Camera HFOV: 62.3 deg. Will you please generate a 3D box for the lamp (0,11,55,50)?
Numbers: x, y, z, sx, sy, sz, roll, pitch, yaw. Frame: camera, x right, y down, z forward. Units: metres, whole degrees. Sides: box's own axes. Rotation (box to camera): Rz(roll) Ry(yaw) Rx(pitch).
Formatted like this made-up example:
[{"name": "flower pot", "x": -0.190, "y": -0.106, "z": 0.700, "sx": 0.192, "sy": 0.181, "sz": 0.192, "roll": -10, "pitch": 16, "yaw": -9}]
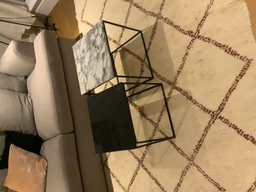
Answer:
[{"name": "lamp", "x": -1.640, "y": -0.830, "z": 2.520, "sx": 0.170, "sy": 1.480, "sz": 0.350, "roll": -19, "pitch": 78, "yaw": 45}]
